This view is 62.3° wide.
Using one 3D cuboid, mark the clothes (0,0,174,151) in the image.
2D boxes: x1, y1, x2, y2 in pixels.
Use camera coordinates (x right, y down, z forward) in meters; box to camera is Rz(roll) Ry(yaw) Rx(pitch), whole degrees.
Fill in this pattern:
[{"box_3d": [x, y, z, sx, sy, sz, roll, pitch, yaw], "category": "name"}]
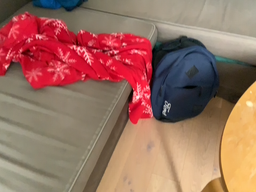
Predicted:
[{"box_3d": [-0.250, -0.120, 1.050, 0.820, 0.500, 0.400, 12, 52, 10], "category": "clothes"}]
